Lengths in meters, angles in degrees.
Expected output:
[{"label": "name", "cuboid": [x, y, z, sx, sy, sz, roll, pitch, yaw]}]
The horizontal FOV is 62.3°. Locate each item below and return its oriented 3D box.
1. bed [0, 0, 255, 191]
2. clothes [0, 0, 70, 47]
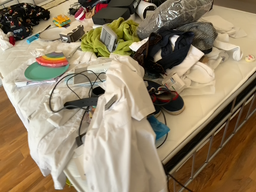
[{"label": "bed", "cuboid": [-0.130, -0.320, 1.690, 1.560, 0.580, 2.010, -37, 50, -22]}, {"label": "clothes", "cuboid": [-0.900, -0.660, 1.720, 0.570, 0.130, 0.670, 8, 49, 20]}]
